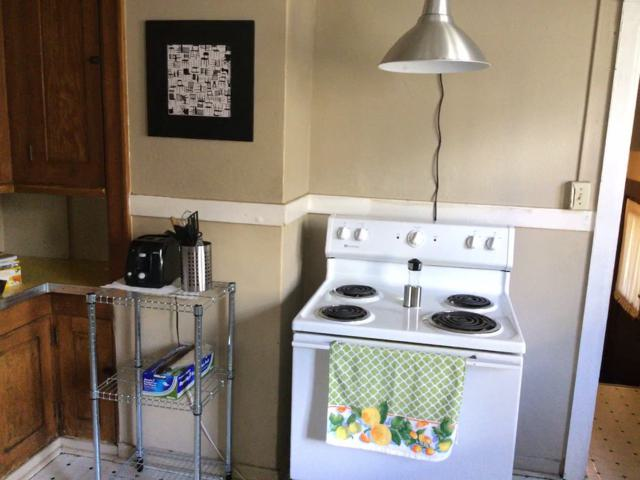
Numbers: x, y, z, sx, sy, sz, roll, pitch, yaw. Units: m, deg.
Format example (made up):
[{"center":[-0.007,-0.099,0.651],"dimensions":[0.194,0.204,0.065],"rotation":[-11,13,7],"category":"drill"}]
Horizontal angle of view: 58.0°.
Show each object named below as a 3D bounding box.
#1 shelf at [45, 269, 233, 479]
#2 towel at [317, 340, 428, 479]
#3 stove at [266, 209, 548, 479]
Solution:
[{"center":[-0.710,0.640,2.370],"dimensions":[0.590,0.940,0.390],"rotation":[4,10,13],"category":"shelf"},{"center":[0.170,0.570,1.910],"dimensions":[0.340,0.440,0.080],"rotation":[4,10,13],"category":"towel"},{"center":[0.330,0.530,2.260],"dimensions":[0.850,1.180,0.840],"rotation":[4,10,13],"category":"stove"}]
